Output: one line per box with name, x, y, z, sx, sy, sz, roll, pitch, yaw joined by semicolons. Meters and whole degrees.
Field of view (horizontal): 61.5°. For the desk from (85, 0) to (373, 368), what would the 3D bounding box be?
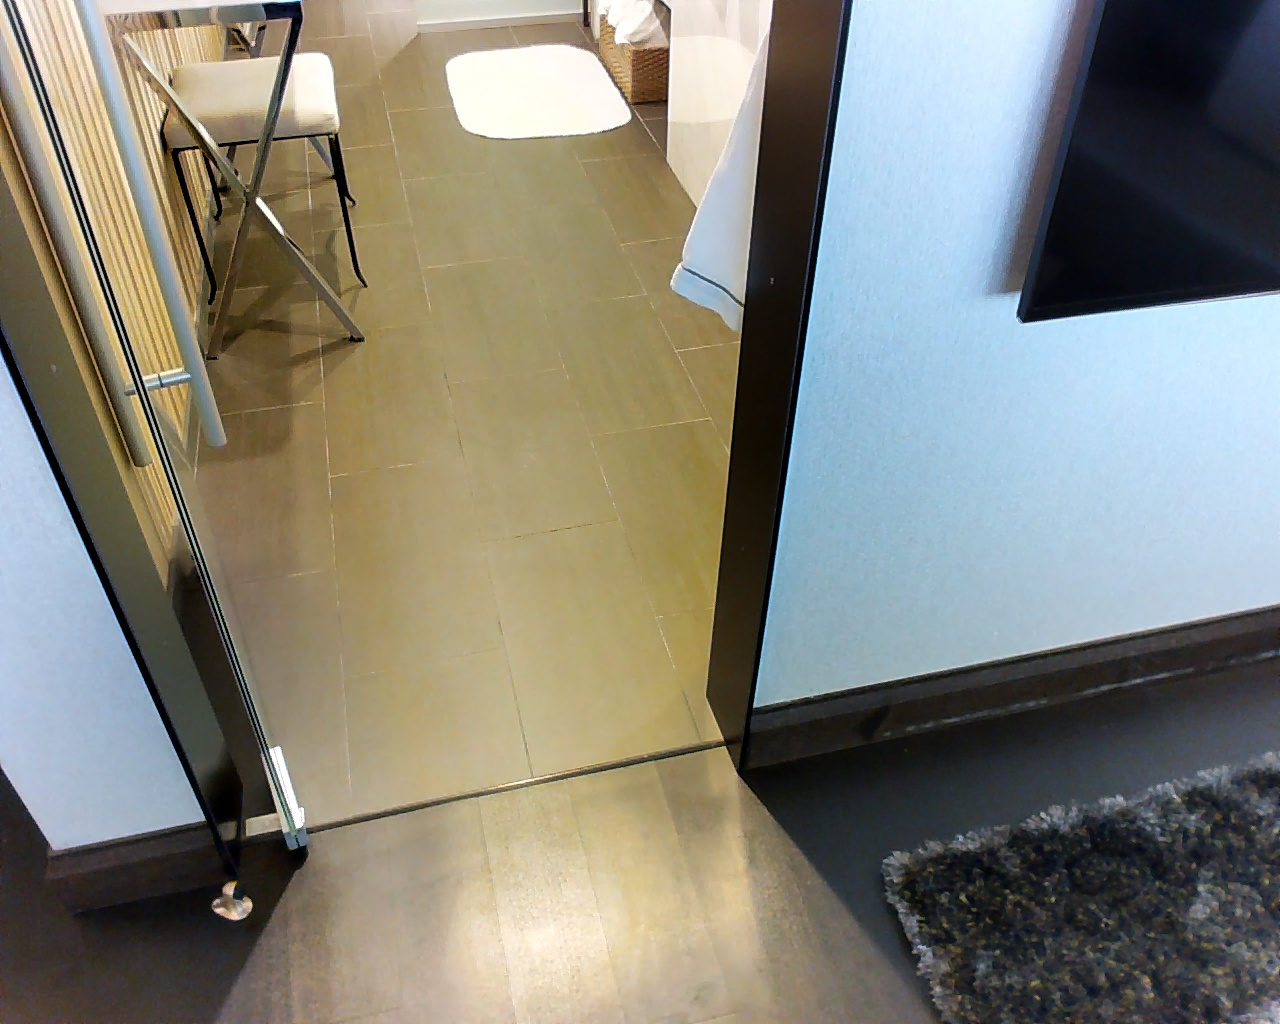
desk;-1.040;-1.090;2.870;0.430;0.900;1.100;-9;42;-11
